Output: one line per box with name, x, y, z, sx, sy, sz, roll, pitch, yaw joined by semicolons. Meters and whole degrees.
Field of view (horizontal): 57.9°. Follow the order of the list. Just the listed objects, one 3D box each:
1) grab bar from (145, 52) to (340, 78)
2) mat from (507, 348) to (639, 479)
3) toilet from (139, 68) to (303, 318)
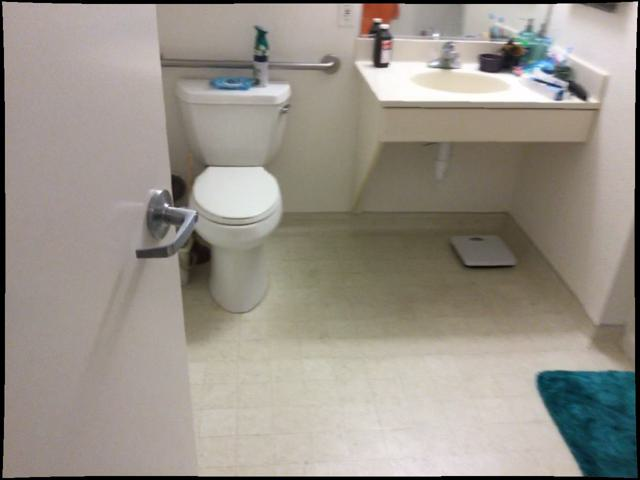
grab bar;-0.320;-0.741;2.450;0.799;0.080;0.080;-1;32;-6
mat;0.949;0.591;1.850;0.470;0.030;0.660;-1;32;-6
toilet;-0.360;-0.220;2.360;0.519;0.751;0.740;-1;32;-6
